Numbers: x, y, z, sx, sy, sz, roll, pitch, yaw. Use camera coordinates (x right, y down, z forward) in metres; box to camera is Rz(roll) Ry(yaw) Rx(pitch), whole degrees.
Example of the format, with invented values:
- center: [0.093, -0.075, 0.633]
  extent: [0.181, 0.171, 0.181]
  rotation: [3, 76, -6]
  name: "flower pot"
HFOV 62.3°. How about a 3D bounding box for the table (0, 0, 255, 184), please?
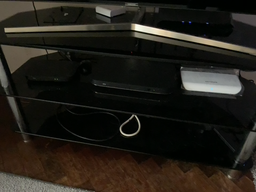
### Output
- center: [0.010, -0.080, 0.980]
  extent: [1.050, 0.530, 0.510]
  rotation: [8, 38, 9]
  name: "table"
